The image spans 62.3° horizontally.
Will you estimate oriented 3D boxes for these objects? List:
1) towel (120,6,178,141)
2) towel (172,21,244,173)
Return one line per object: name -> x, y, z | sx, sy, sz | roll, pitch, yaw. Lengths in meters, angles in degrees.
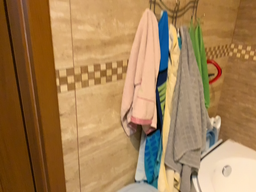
towel -> 0.080, -0.090, 0.900 | 0.180, 0.530, 0.110 | -17, 29, -40
towel -> 0.430, 0.020, 1.220 | 0.150, 0.840, 0.200 | -14, 27, -36
